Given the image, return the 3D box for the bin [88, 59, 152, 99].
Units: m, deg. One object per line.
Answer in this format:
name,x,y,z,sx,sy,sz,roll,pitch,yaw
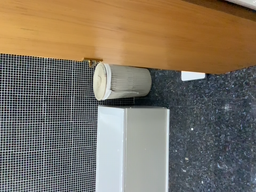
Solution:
bin,-0.100,-0.170,2.530,0.470,0.620,0.390,-3,86,62
